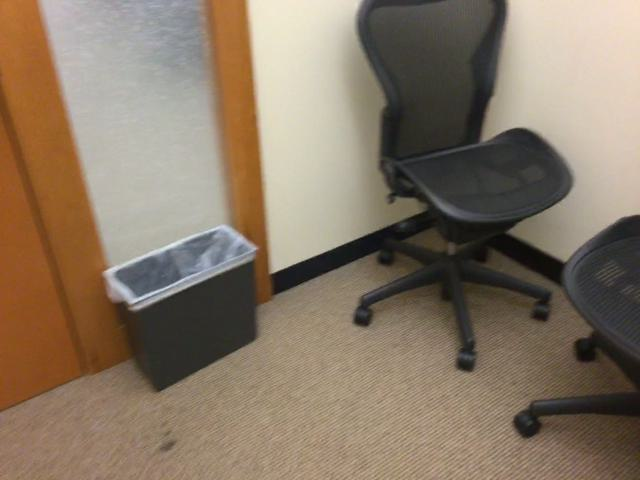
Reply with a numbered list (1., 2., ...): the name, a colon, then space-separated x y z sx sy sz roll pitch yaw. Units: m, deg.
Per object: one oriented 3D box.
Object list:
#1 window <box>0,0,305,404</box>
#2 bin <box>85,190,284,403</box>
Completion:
1. window: -0.470 -0.260 1.700 0.820 1.340 0.240 -21 35 -30
2. bin: -0.410 0.160 1.840 0.480 0.450 0.300 -21 35 -30
